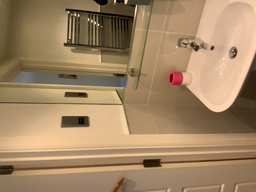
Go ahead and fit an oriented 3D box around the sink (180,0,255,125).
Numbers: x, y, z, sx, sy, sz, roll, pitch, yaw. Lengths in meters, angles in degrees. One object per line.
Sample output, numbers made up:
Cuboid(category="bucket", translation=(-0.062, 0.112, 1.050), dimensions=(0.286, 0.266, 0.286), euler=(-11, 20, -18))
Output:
Cuboid(category="sink", translation=(0.510, -0.210, 1.090), dimensions=(0.450, 0.180, 0.550), euler=(-113, 28, -58))
